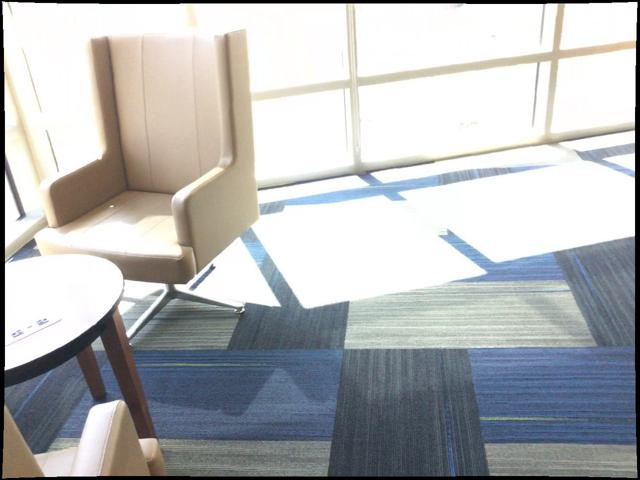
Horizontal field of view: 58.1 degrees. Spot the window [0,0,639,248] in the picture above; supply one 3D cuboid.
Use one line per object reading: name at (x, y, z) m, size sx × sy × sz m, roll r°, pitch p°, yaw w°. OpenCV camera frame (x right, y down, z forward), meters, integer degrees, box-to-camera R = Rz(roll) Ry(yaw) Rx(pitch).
window at (0.369, -1.073, 3.520) m, size 4.290 × 1.413 × 0.310 m, roll -12°, pitch 28°, yaw -10°
